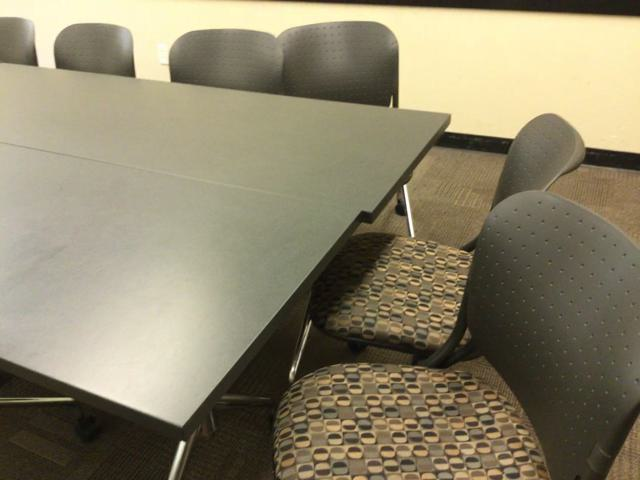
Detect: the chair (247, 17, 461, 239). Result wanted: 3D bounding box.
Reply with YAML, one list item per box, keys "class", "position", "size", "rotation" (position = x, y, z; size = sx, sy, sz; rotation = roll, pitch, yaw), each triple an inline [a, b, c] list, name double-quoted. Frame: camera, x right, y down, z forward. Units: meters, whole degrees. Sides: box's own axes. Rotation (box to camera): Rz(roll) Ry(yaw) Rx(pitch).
- class: "chair"
  position: [0.080, -0.430, 2.100]
  size: [0.630, 0.550, 0.620]
  rotation: [-5, 34, -4]

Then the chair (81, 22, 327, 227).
- class: "chair"
  position: [-0.370, -0.450, 2.080]
  size: [0.590, 0.470, 0.560]
  rotation: [15, 38, 24]

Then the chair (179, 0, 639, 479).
- class: "chair"
  position: [0.170, 0.080, 0.910]
  size: [0.640, 0.740, 0.590]
  rotation: [-8, 35, -8]

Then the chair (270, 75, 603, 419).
- class: "chair"
  position: [0.280, -0.030, 1.370]
  size: [0.570, 0.500, 0.520]
  rotation: [14, 38, 23]
